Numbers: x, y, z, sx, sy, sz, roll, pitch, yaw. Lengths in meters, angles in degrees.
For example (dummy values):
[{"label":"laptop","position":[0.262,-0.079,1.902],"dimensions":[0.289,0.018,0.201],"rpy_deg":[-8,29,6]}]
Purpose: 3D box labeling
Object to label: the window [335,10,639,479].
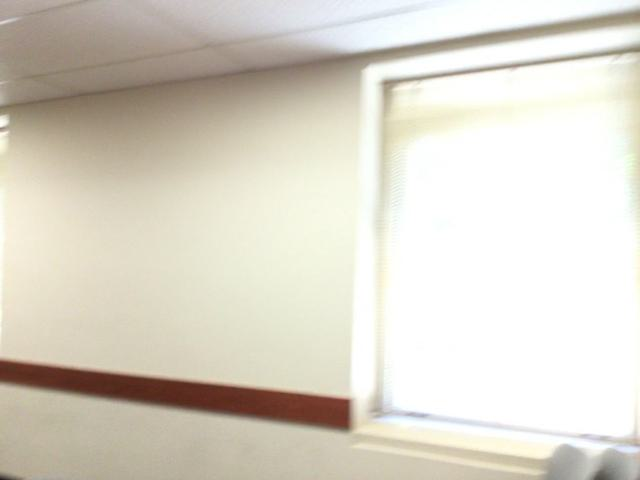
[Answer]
[{"label":"window","position":[0.820,0.020,2.600],"dimensions":[1.320,1.790,0.520],"rpy_deg":[3,0,25]}]
